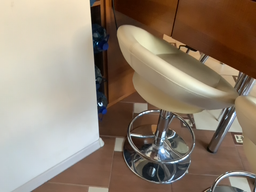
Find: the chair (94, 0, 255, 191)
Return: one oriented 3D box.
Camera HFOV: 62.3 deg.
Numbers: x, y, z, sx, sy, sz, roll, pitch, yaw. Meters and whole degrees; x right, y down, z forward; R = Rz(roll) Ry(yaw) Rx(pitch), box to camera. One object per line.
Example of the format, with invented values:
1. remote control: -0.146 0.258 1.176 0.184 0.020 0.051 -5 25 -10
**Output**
1. chair: 0.200 0.060 1.060 0.490 0.810 0.480 33 50 28
